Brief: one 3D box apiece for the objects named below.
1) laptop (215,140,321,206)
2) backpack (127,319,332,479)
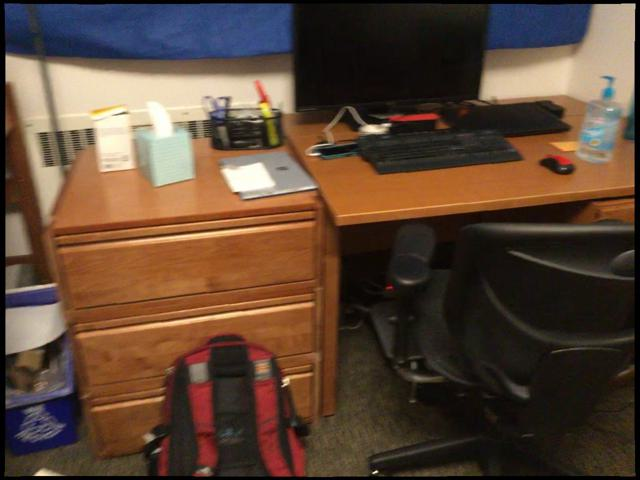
[{"bbox_3d":[-0.160,-0.200,1.640,0.240,0.030,0.370,-6,30,-13],"label":"laptop"},{"bbox_3d":[-0.240,0.531,1.510,0.439,0.441,0.390,-6,30,-13],"label":"backpack"}]
